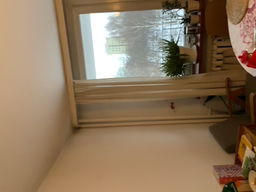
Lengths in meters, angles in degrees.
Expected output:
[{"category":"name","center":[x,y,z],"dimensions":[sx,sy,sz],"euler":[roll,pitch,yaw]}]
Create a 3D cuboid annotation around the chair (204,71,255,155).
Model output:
[{"category":"chair","center":[1.320,0.140,2.290],"dimensions":[0.630,0.760,0.720],"euler":[-85,-7,-76]}]
